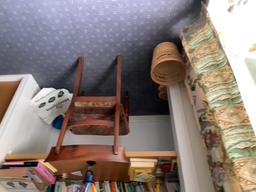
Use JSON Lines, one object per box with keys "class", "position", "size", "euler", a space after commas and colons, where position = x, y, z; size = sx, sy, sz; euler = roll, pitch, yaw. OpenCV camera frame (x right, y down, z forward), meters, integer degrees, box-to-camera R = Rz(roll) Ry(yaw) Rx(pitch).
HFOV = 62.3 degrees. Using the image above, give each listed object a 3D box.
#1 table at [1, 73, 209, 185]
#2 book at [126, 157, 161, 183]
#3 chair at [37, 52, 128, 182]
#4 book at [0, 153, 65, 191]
{"class": "table", "position": [-0.150, 0.300, 1.880], "size": [1.390, 0.750, 0.610], "euler": [-2, 140, 2]}
{"class": "book", "position": [0.100, 0.530, 1.500], "size": [0.210, 0.080, 0.270], "euler": [3, 140, -2]}
{"class": "chair", "position": [-0.250, 0.130, 1.600], "size": [0.460, 0.850, 0.470], "euler": [-2, 140, 3]}
{"class": "book", "position": [-0.700, 0.610, 1.560], "size": [0.300, 0.160, 0.510], "euler": [-1, 140, 2]}
